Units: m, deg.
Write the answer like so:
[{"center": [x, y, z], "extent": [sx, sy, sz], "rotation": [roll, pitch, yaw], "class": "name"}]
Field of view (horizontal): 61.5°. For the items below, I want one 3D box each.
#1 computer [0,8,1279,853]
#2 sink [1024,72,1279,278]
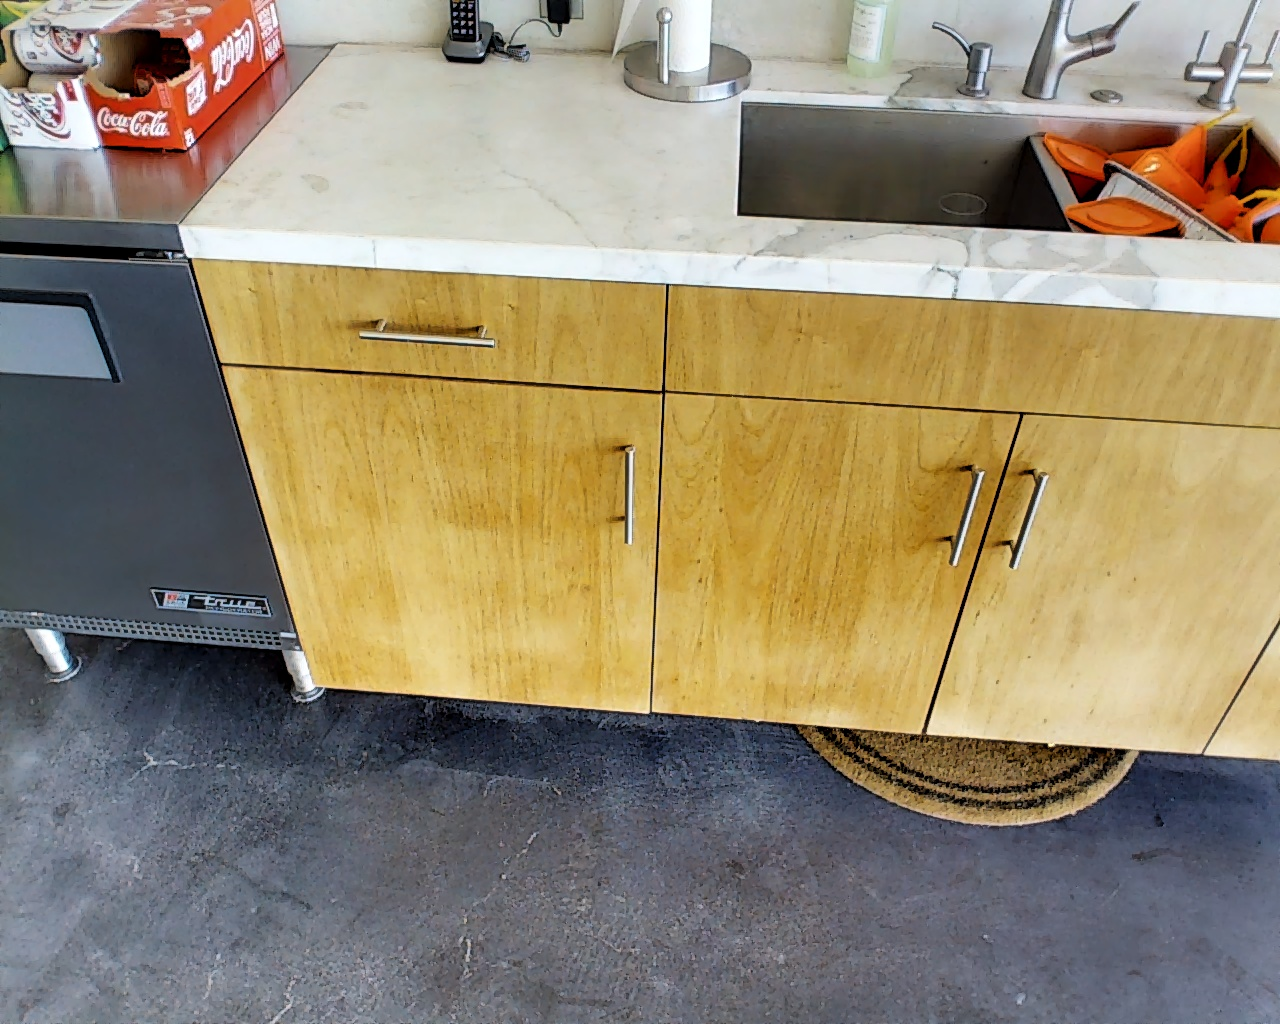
[{"center": [0.470, -0.100, 1.760], "extent": [3.230, 1.010, 0.720], "rotation": [5, 42, 4], "class": "computer"}, {"center": [0.750, -0.460, 1.440], "extent": [0.380, 0.080, 0.430], "rotation": [5, 42, 4], "class": "sink"}]
